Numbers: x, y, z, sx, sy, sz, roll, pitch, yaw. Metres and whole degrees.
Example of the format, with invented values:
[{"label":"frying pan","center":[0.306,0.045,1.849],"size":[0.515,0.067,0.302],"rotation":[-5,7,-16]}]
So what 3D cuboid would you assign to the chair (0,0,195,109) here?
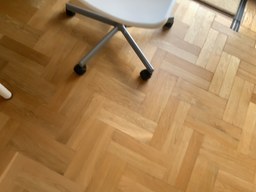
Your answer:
[{"label":"chair","center":[-0.060,-0.460,0.930],"size":[0.630,0.730,0.640],"rotation":[26,69,2]}]
